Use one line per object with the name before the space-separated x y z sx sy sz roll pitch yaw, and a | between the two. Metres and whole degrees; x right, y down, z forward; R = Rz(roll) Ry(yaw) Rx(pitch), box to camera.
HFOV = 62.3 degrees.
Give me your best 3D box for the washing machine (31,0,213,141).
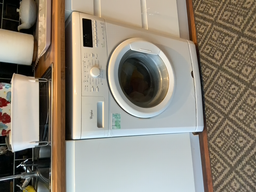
washing machine | -0.060 -0.050 1.360 0.640 0.940 0.590 -17 73 56
